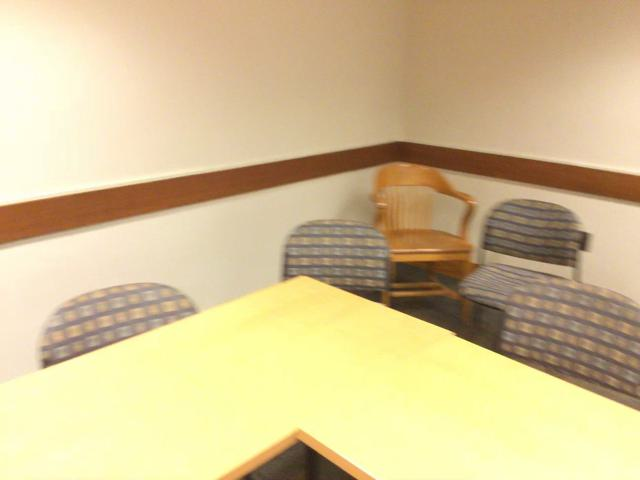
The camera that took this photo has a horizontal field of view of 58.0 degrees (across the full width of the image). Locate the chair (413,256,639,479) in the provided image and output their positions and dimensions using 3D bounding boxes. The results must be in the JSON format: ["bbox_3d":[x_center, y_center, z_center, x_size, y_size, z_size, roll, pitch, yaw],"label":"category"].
[{"bbox_3d":[0.660,0.500,1.730,0.560,0.730,0.490,12,18,36],"label":"chair"}]

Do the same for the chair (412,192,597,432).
[{"bbox_3d":[0.820,0.250,2.550,0.490,0.790,0.720,12,18,36],"label":"chair"}]

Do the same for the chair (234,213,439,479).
[{"bbox_3d":[0.050,0.350,2.130,0.590,0.750,0.770,1,14,1],"label":"chair"}]

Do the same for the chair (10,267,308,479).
[{"bbox_3d":[-0.430,0.530,1.580,0.540,0.710,0.580,-12,19,-40],"label":"chair"}]
